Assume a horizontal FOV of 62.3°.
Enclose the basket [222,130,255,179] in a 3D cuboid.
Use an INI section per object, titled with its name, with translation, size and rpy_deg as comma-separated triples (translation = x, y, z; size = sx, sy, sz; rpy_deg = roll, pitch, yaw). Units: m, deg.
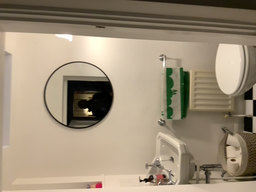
[basket]
translation = 1.010, 0.490, 1.840
size = 0.250, 0.250, 0.360
rpy_deg = 158, 113, -81
